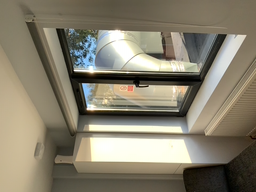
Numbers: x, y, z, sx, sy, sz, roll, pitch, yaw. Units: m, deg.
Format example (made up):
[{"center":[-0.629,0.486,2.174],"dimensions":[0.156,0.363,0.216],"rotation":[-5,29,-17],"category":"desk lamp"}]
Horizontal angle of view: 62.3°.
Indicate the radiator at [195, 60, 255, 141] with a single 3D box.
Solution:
[{"center":[1.200,0.130,1.990],"dimensions":[1.360,0.700,0.080],"rotation":[96,176,-58],"category":"radiator"}]
